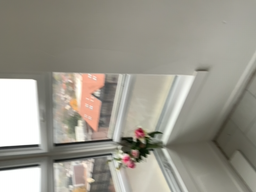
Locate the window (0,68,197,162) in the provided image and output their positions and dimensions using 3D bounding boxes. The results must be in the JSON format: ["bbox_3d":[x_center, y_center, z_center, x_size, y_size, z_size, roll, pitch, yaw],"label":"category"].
[{"bbox_3d":[-0.310,0.160,1.650,0.060,1.640,0.790,-115,31,-49],"label":"window"}]
